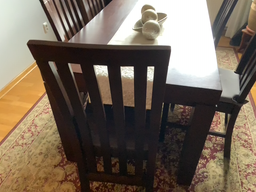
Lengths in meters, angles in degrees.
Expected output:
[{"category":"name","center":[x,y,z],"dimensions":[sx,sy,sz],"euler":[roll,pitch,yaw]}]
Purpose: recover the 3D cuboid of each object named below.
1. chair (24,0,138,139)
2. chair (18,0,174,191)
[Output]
[{"category":"chair","center":[-0.240,-0.230,1.540],"dimensions":[0.540,1.020,0.430],"euler":[7,39,9]},{"category":"chair","center":[-0.060,0.100,1.110],"dimensions":[0.430,1.030,0.560],"euler":[4,39,5]}]
